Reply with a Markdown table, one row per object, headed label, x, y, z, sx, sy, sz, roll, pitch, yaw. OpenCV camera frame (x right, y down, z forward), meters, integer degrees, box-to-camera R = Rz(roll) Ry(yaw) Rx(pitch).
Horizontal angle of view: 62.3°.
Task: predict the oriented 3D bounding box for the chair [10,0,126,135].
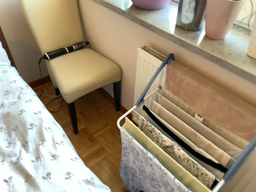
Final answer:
| label | x | y | z | sx | sy | sz | roll | pitch | yaw |
| --- | --- | --- | --- | --- | --- | --- | --- | --- | --- |
| chair | -0.420 | -0.310 | 1.580 | 0.460 | 0.890 | 0.680 | -27 | 51 | -28 |

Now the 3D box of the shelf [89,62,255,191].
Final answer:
| label | x | y | z | sx | sy | sz | roll | pitch | yaw |
| --- | --- | --- | --- | --- | --- | --- | --- | --- | --- |
| shelf | 0.170 | 0.300 | 1.200 | 0.380 | 0.610 | 0.750 | -29 | 51 | -29 |
